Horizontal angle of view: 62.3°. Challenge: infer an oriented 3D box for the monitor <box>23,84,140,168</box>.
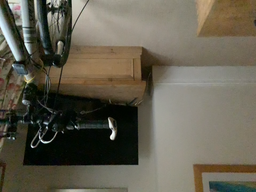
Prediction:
[{"bbox_3d":[-0.400,0.330,2.180,1.090,0.700,0.070,12,158,-20],"label":"monitor"}]
